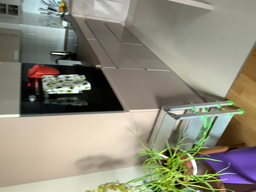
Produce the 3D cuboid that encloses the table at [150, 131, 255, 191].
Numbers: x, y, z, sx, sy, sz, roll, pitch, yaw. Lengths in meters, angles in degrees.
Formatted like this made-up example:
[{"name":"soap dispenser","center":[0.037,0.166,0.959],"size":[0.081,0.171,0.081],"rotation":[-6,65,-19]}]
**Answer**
[{"name":"table","center":[0.560,0.570,1.400],"size":[0.440,0.590,0.440],"rotation":[58,140,47]}]
